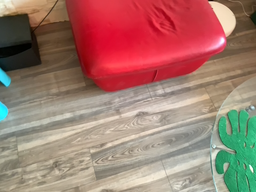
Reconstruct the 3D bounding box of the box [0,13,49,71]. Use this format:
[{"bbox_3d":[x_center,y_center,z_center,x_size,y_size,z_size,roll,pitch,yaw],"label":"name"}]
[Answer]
[{"bbox_3d":[-0.760,-0.350,1.400,0.380,0.210,0.250,-12,67,-12],"label":"box"}]
